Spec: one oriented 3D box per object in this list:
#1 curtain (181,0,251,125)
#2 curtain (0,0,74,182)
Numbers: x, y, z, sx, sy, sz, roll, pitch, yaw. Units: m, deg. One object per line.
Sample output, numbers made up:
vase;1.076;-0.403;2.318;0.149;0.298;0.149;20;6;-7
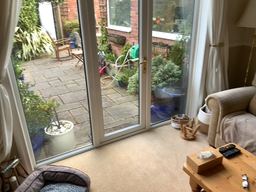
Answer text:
curtain;1.190;-0.860;2.810;0.710;2.590;0.240;-10;25;-20
curtain;-0.930;-0.410;1.720;0.650;2.430;0.210;-13;26;-26
